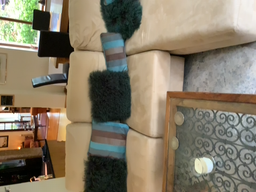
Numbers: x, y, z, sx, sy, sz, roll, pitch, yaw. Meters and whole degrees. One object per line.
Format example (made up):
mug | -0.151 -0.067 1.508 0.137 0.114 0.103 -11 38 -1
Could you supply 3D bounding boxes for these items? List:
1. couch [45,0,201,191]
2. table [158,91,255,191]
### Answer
couch | -0.120 -0.050 2.030 0.960 1.060 2.540 11 98 60
table | 0.630 0.380 1.320 0.800 0.450 0.790 6 94 60
